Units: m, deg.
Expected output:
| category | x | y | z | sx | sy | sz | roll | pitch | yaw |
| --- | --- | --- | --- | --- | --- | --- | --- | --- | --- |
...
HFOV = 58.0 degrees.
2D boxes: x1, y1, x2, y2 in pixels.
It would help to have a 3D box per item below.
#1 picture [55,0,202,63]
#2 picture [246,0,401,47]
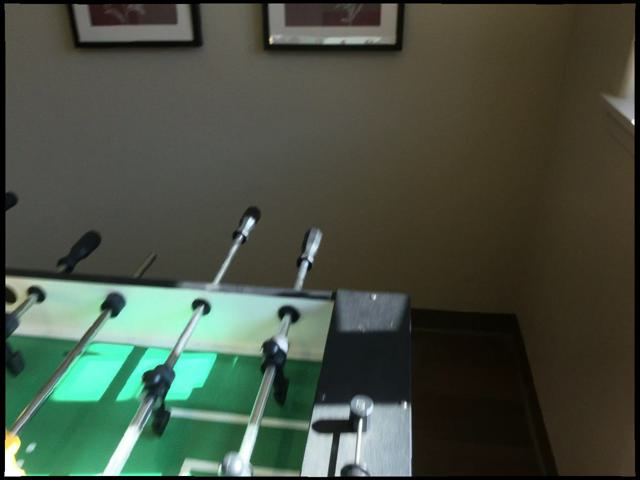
| category | x | y | z | sx | sy | sz | roll | pitch | yaw |
| --- | --- | --- | --- | --- | --- | --- | --- | --- | --- |
| picture | -0.629 | -0.812 | 1.850 | 0.449 | 0.461 | 0.060 | 2 | 28 | 5 |
| picture | 0.010 | -0.812 | 1.780 | 0.479 | 0.401 | 0.060 | 2 | 28 | 5 |
